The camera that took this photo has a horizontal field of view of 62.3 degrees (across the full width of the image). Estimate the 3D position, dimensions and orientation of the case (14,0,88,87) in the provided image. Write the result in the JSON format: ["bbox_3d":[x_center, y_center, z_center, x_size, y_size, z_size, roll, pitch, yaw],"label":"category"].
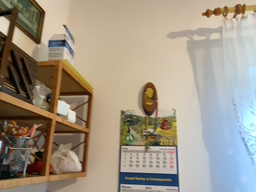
[{"bbox_3d":[-0.400,-0.280,1.180,0.220,0.370,0.300,-3,-17,12],"label":"case"}]
